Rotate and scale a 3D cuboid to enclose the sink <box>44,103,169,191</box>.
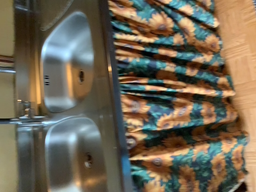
[{"bbox_3d":[-0.110,0.260,0.810,0.460,0.220,0.390,-16,76,45],"label":"sink"}]

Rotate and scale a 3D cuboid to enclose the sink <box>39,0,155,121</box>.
[{"bbox_3d":[-0.160,-0.120,0.870,0.460,0.210,0.380,-16,76,45],"label":"sink"}]
